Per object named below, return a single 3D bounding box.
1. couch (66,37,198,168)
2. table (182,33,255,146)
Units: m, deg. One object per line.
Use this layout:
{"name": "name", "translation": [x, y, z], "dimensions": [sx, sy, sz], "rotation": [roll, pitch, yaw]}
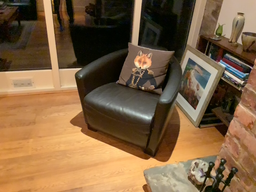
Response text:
{"name": "couch", "translation": [0.060, -0.030, 1.930], "dimensions": [0.800, 0.670, 0.830], "rotation": [19, 35, 22]}
{"name": "table", "translation": [0.920, -0.110, 2.090], "dimensions": [0.250, 0.770, 0.850], "rotation": [-5, 33, -15]}
